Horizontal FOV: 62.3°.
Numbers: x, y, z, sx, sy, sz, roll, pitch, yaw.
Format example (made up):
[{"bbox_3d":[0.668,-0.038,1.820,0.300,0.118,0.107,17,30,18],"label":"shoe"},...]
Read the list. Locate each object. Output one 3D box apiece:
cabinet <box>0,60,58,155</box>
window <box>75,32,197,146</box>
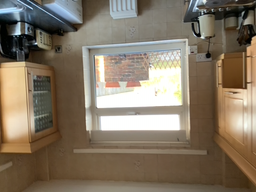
[{"bbox_3d":[-1.060,0.100,2.260,0.320,0.880,0.590,-2,-177,9],"label":"cabinet"},{"bbox_3d":[0.090,-0.060,2.550,1.340,1.240,0.300,-2,-177,7],"label":"window"}]
